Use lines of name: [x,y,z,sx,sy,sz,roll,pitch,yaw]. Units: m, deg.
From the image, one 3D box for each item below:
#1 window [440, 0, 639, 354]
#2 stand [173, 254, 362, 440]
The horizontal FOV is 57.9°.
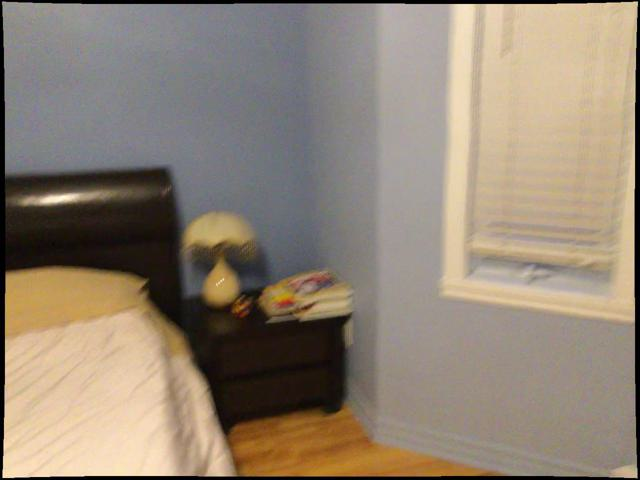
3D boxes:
window: [0.719,-0.551,1.690,0.470,1.601,0.550,-8,19,-18]
stand: [-0.240,0.430,2.550,0.689,0.510,0.520,-8,19,-18]
